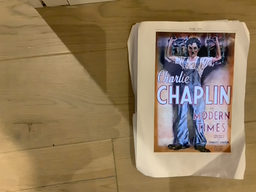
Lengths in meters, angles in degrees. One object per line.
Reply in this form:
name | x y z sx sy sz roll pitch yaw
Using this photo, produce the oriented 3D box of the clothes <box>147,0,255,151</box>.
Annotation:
clothes | 0.150 -0.050 0.410 0.220 0.030 0.300 -1 91 -4
